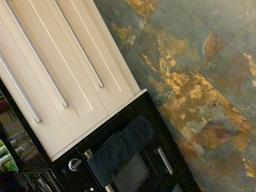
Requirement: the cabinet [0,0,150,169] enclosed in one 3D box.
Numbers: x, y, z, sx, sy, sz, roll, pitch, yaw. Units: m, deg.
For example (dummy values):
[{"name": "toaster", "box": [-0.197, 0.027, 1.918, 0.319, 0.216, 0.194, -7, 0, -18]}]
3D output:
[{"name": "cabinet", "box": [-0.540, -0.250, 1.420, 0.580, 0.910, 1.040, -22, 100, 44]}]
